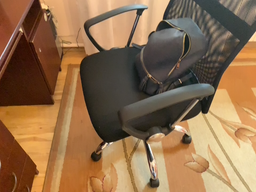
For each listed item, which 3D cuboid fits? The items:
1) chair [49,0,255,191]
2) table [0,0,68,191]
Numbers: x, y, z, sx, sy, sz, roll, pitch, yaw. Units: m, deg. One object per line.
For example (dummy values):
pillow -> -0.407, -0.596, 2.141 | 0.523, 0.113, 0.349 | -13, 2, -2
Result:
chair -> 0.110, -0.120, 0.950 | 0.710, 1.150, 0.640 | -15, 52, -14
table -> -0.800, 0.000, 1.110 | 0.670, 0.720, 1.300 | -2, 50, -3
